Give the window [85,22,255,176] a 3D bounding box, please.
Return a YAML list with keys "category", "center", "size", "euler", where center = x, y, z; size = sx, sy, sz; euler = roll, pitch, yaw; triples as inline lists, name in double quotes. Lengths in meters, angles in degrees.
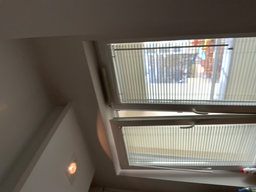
- category: "window"
  center: [0.530, 0.140, 1.780]
  size: [0.120, 1.510, 1.430]
  euler: [-73, -20, -51]
